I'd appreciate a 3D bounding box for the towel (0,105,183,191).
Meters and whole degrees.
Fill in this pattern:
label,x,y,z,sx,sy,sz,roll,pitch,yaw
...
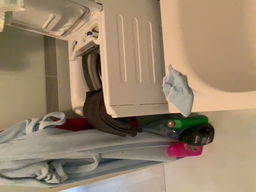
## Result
label,x,y,z,sx,sy,sz,roll,pitch,yaw
towel,-0.220,0.250,1.150,0.200,1.320,0.350,-2,89,54
